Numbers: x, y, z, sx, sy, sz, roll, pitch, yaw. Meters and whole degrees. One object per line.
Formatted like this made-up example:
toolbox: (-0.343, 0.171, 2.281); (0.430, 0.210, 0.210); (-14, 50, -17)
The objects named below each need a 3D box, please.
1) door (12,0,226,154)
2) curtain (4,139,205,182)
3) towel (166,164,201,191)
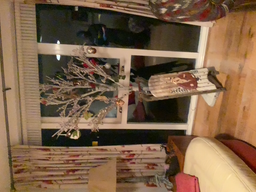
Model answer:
door: (-0.080, -0.160, 2.340); (0.090, 2.120, 1.710); (-118, 31, -73)
curtain: (-0.210, 0.740, 2.490); (0.180, 2.210, 0.420); (-116, 29, -72)
towel: (0.450, 0.860, 1.780); (0.550, 0.070, 0.460); (135, 136, -78)
